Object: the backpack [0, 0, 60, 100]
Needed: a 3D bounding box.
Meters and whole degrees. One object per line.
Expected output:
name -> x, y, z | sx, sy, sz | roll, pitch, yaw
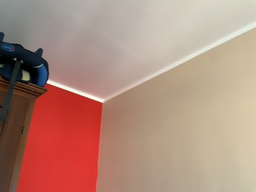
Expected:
backpack -> -0.680, -0.260, 1.230 | 0.330, 0.360, 0.470 | 21, -32, -35
